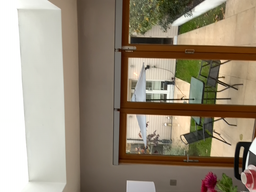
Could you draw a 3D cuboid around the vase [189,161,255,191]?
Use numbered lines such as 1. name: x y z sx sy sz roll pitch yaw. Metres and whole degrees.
1. vase: 0.810 0.770 1.660 0.360 0.540 0.350 -85 -3 -78
